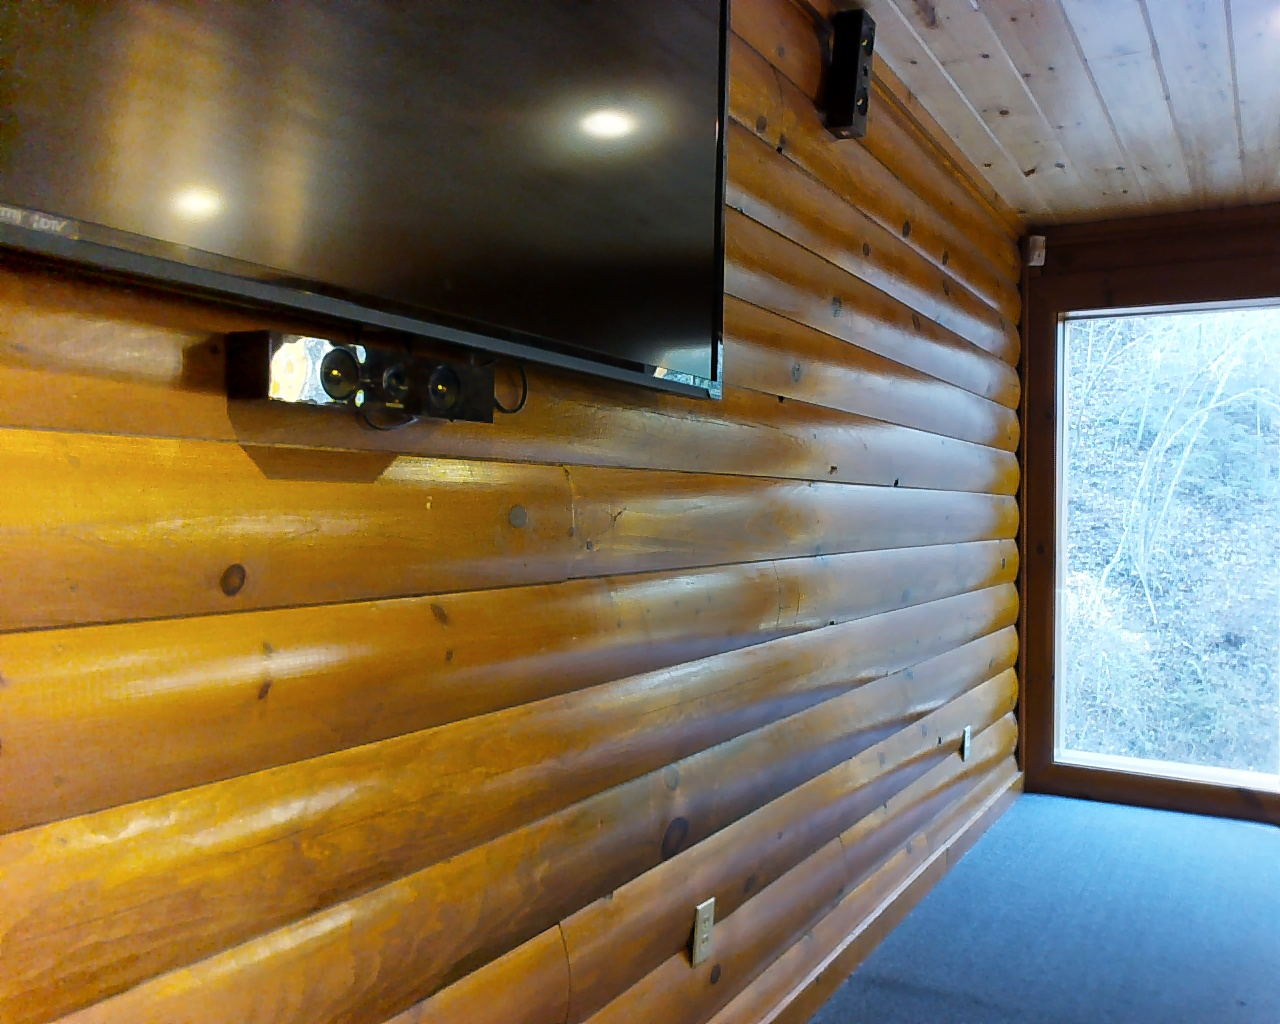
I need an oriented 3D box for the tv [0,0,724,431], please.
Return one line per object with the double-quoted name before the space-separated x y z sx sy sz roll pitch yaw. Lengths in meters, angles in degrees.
"tv" -0.310 -0.690 1.280 0.130 1.060 1.610 1 0 30
